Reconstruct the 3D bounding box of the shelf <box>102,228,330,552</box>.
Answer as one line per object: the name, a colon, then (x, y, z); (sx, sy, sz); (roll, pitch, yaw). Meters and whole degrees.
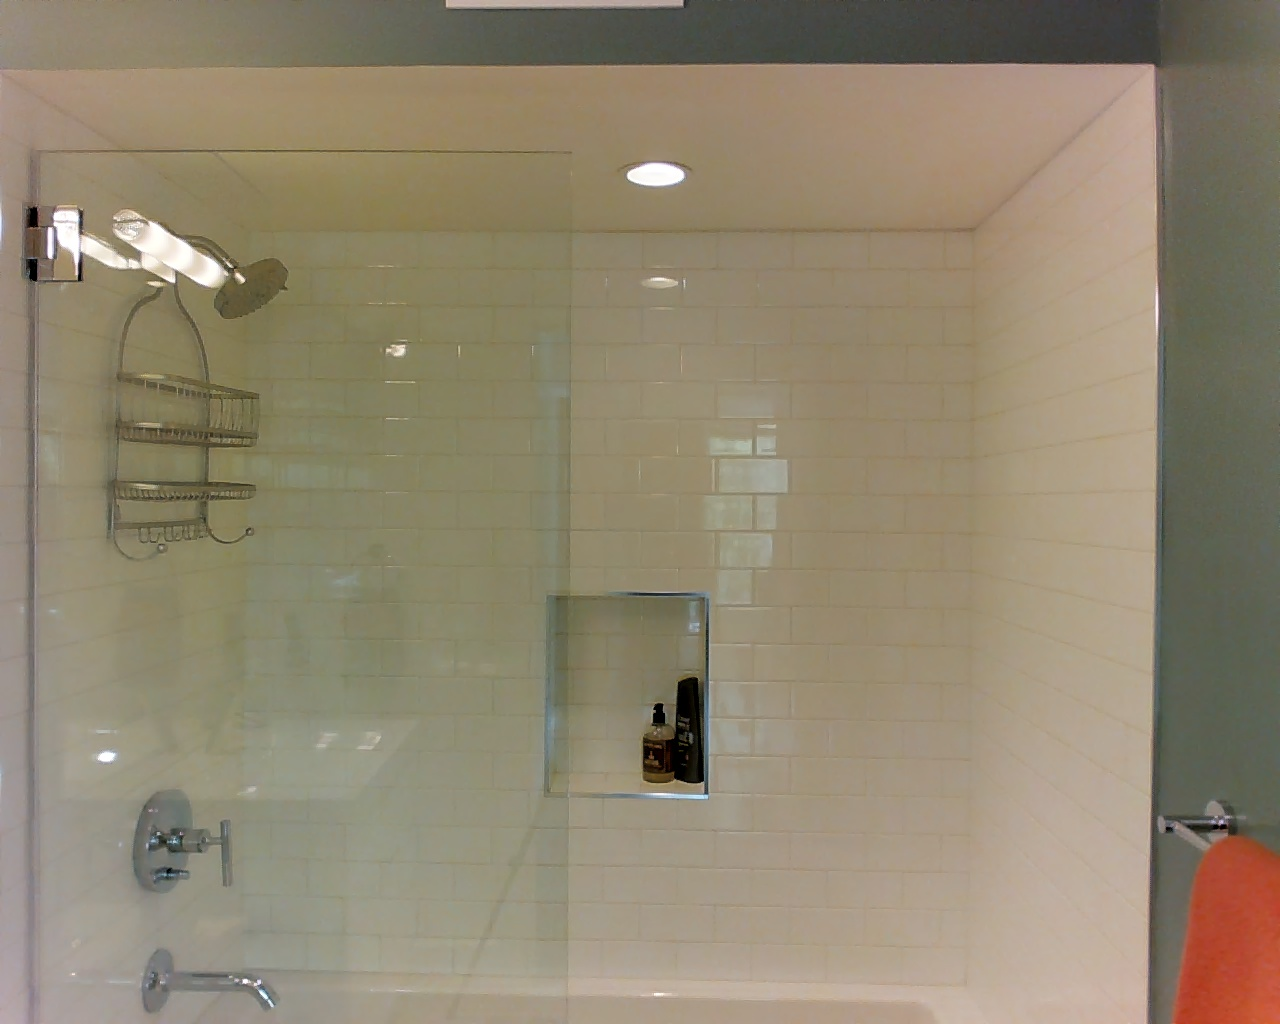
shelf: (-0.720, -0.190, 1.880); (0.210, 0.500, 0.440); (1, 0, 2)
